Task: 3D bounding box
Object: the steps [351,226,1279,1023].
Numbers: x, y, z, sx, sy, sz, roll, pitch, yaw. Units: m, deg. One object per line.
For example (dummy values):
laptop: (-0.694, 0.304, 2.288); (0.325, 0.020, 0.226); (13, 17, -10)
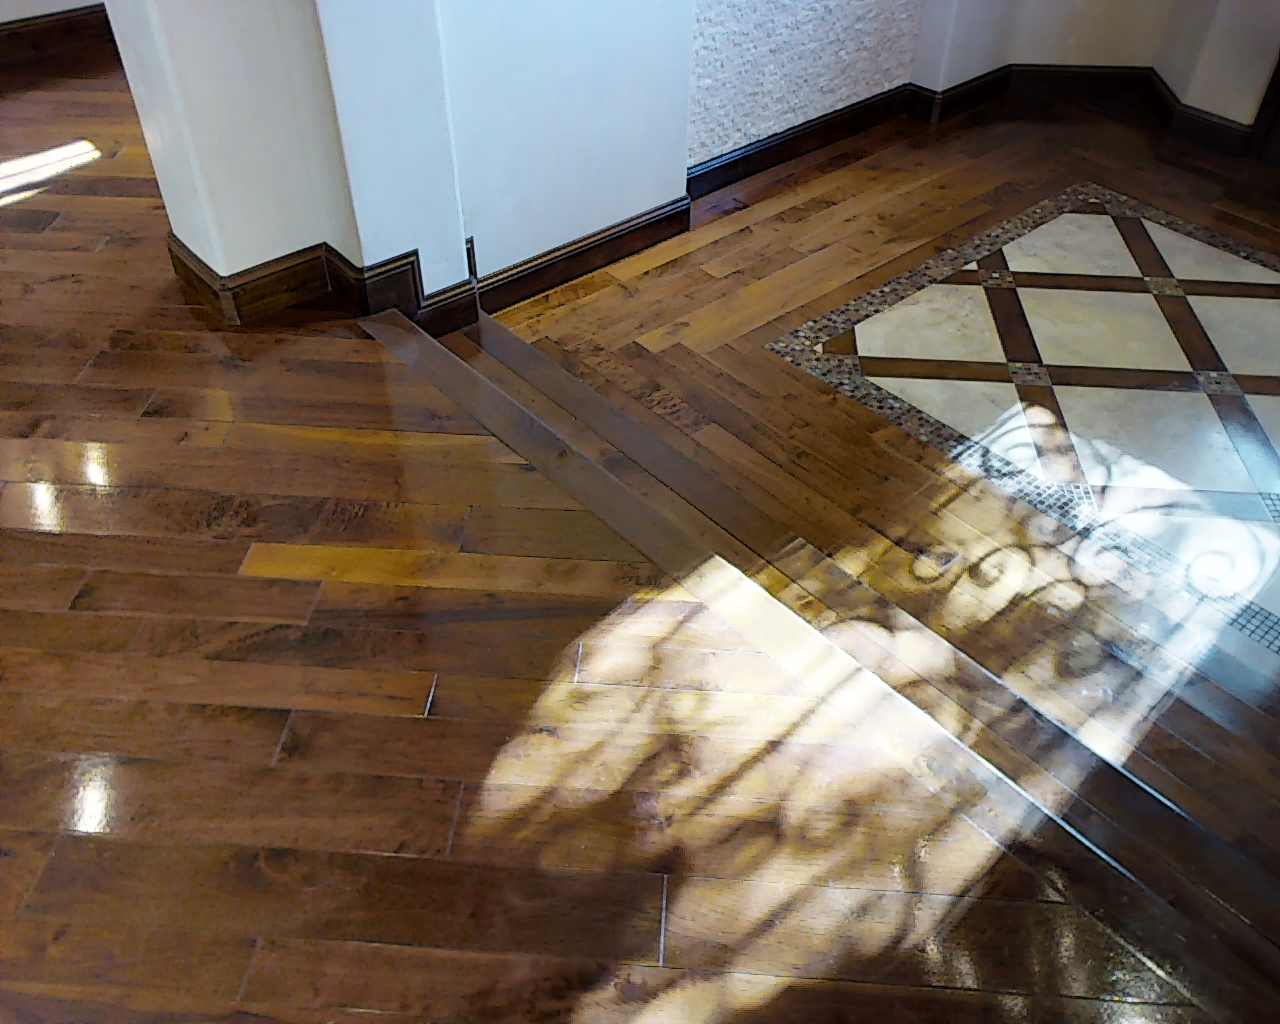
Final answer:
steps: (0.450, 0.250, 2.290); (0.370, 0.390, 3.470); (-30, 50, -29)
